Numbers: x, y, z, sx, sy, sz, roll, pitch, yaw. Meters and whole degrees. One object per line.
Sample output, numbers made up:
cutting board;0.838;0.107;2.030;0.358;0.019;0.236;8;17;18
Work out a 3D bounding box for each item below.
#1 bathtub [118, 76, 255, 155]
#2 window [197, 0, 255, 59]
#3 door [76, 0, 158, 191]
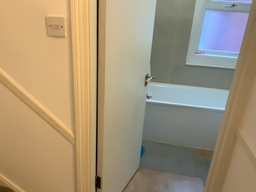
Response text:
bathtub;0.800;0.200;2.740;1.740;0.560;0.690;7;22;5
window;1.350;-1.100;2.680;0.700;1.180;0.130;6;22;5
door;-0.040;0.020;1.430;0.070;2.090;0.840;14;24;23
